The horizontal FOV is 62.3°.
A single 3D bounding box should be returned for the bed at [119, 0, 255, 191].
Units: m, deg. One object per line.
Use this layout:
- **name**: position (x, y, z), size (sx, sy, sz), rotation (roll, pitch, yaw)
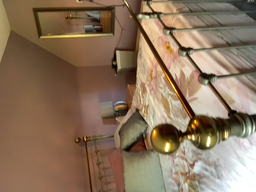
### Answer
- **bed**: position (0.530, 0.290, 1.960), size (1.690, 0.740, 2.250), rotation (-109, 19, -44)
